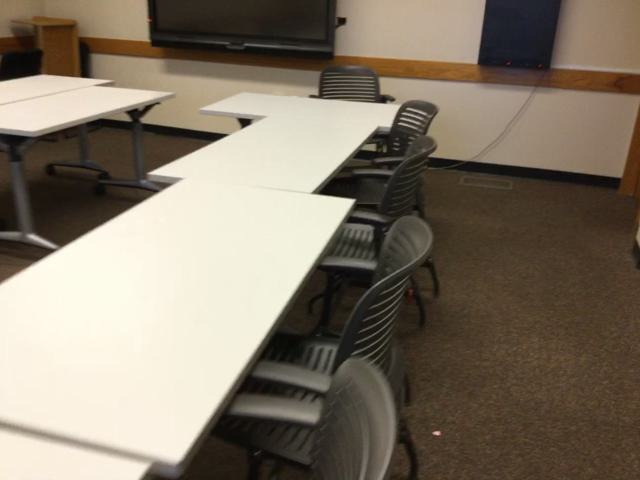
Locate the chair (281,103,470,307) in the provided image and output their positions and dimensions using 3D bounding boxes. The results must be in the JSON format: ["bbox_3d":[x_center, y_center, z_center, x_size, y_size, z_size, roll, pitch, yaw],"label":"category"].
[{"bbox_3d":[0.280,-0.210,2.770,0.700,0.740,0.620,8,25,21],"label":"chair"}]

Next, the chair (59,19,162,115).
[{"bbox_3d":[-1.960,-1.650,5.470,0.570,0.790,0.570,10,26,24],"label":"chair"}]

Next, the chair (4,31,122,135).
[{"bbox_3d":[-2.210,-1.380,5.020,0.640,0.780,0.510,9,26,22],"label":"chair"}]

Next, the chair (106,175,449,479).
[{"bbox_3d":[-0.020,0.370,1.430,0.590,0.880,0.630,4,24,12],"label":"chair"}]

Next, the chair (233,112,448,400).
[{"bbox_3d":[0.110,0.010,2.210,0.560,0.840,0.640,9,26,22],"label":"chair"}]

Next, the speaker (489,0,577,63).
[{"bbox_3d":[1.420,-1.530,3.810,0.480,0.660,0.300,9,24,22],"label":"speaker"}]
